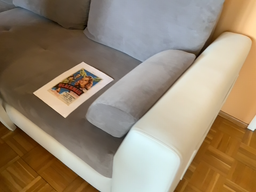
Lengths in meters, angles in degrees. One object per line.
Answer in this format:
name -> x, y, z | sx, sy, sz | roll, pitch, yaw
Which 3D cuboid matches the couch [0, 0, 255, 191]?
couch -> -0.640, -0.520, 1.420 | 2.580, 0.850, 1.070 | 30, 46, 23
